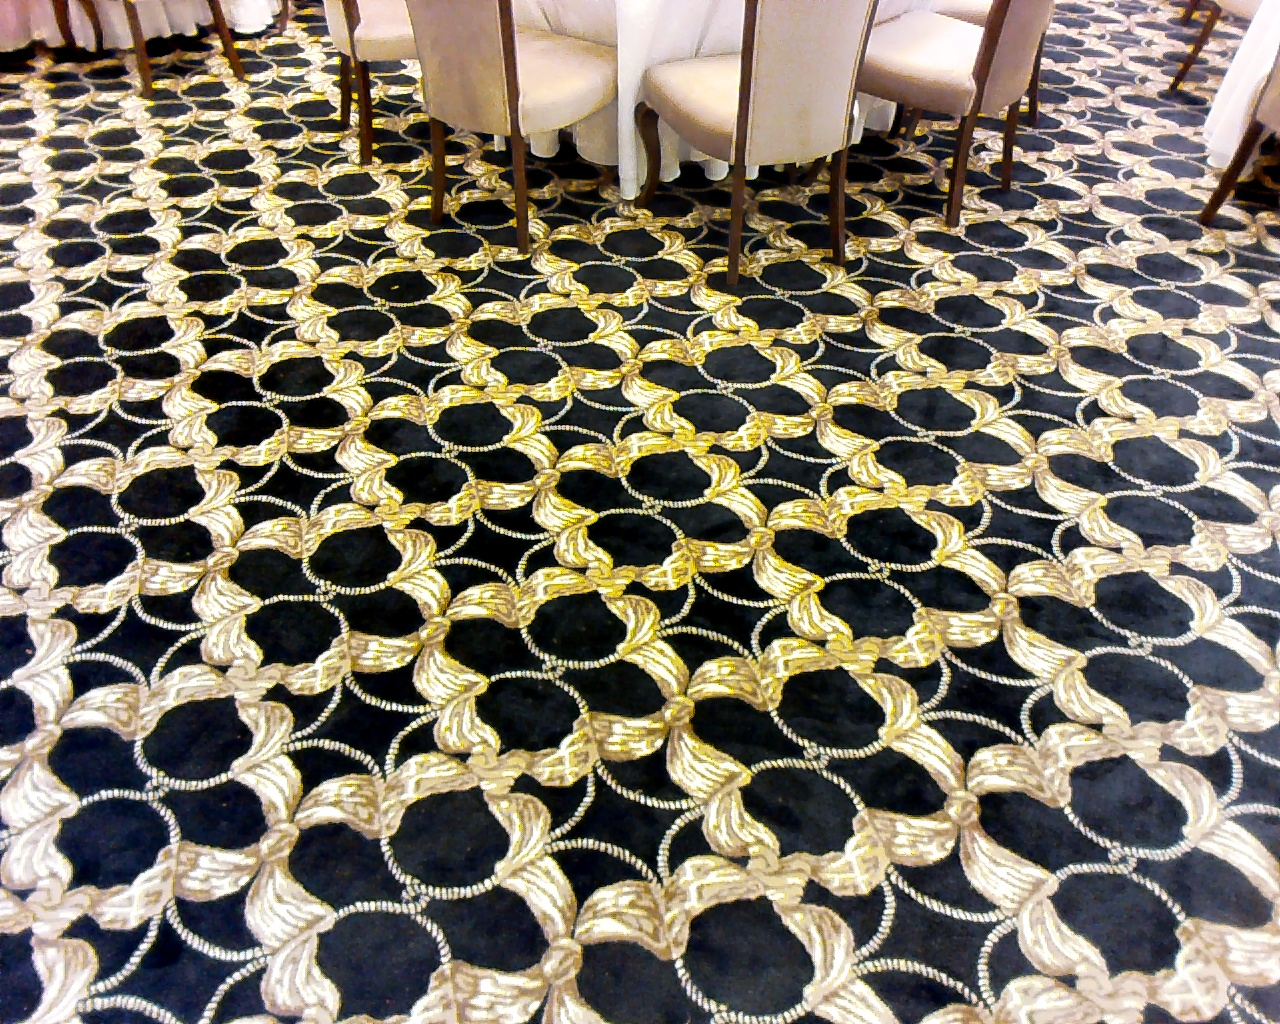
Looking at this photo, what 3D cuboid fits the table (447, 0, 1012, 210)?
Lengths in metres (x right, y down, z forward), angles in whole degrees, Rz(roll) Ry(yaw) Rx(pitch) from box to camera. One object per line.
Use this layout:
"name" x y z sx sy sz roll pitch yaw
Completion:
"table" 0.250 -1.770 3.780 1.580 0.720 1.620 0 41 0
